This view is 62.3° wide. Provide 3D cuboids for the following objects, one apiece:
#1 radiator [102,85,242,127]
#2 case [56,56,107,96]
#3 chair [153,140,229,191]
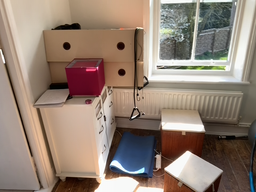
[{"bbox_3d":[0.480,0.120,2.570,1.570,0.460,0.110,2,27,7],"label":"radiator"},{"bbox_3d":[-0.360,-0.170,1.730,0.320,0.250,0.250,2,27,7],"label":"case"},{"bbox_3d":[0.530,0.700,1.850,0.420,0.300,0.450,-22,33,-35],"label":"chair"}]
